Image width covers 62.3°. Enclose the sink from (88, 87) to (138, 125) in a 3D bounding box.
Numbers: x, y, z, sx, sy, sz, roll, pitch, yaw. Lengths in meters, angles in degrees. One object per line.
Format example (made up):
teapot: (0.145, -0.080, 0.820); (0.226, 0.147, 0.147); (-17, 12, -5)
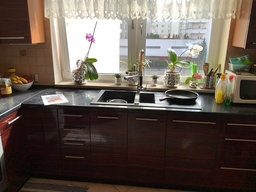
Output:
sink: (-0.130, 0.080, 2.200); (0.430, 0.210, 0.530); (3, 17, 5)
